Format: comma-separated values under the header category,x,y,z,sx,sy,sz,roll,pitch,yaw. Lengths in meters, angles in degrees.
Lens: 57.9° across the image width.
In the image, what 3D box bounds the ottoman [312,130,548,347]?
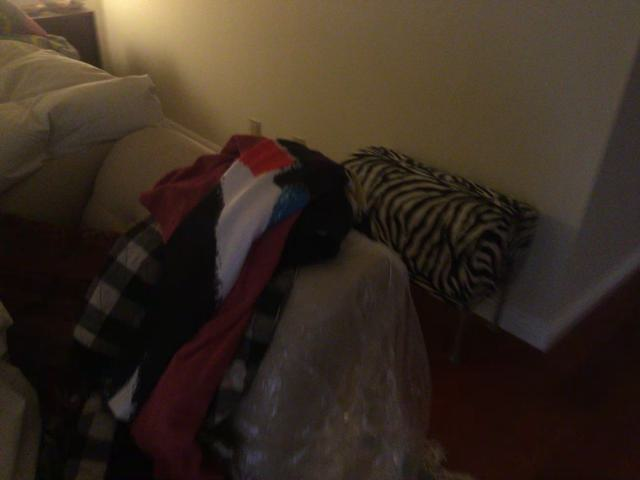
category,x,y,z,sx,sy,sz,roll,pitch,yaw
ottoman,0.310,-0.040,1.860,0.300,0.410,0.650,-25,40,-37
